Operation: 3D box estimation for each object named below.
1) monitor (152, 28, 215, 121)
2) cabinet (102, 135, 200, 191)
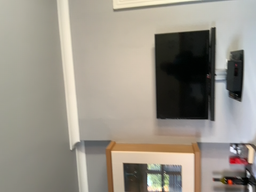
[{"bbox_3d":[0.470,-0.160,1.810,0.060,0.490,0.760,-46,-46,-76],"label":"monitor"},{"bbox_3d":[0.260,1.420,2.150,0.360,0.830,2.000,-48,-44,-76],"label":"cabinet"}]
